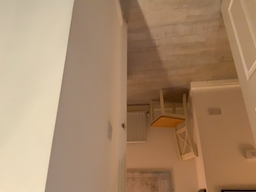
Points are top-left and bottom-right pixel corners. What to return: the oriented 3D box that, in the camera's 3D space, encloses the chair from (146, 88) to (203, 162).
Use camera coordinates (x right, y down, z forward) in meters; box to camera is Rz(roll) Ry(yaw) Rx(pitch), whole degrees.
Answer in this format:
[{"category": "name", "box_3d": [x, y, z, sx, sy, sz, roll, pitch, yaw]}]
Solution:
[{"category": "chair", "box_3d": [0.660, 0.460, 3.210, 0.570, 0.970, 0.520, 7, 154, -16]}]
